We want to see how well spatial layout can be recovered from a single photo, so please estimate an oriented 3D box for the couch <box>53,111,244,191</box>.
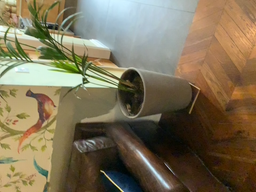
[{"bbox_3d":[0.020,0.740,1.560,0.870,0.870,0.940,42,123,50],"label":"couch"}]
